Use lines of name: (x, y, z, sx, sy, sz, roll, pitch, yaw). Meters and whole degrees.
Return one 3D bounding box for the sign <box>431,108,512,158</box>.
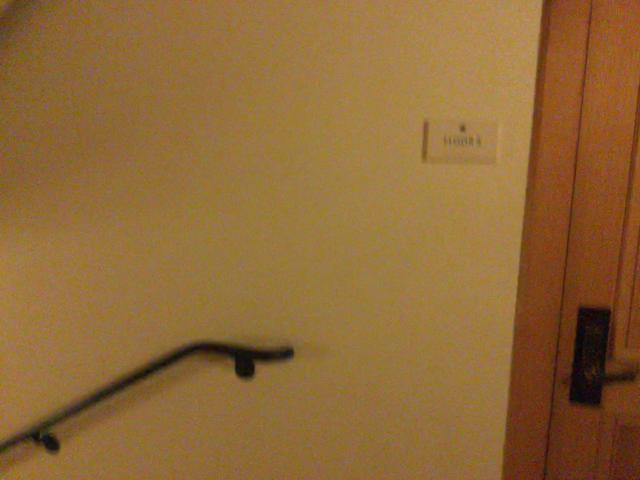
sign: (0.380, -0.270, 1.460, 0.190, 0.120, 0.020, 3, 15, 16)
